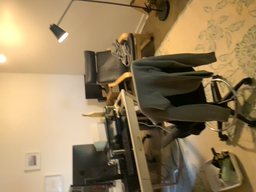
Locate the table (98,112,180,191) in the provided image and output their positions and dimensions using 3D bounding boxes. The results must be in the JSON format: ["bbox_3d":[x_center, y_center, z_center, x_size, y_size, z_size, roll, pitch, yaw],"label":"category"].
[{"bbox_3d":[0.090,0.810,2.940,0.620,0.760,0.980,122,142,-53],"label":"table"}]

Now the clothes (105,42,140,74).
[{"bbox_3d":[-0.120,-0.640,3.460,0.780,0.280,0.370,-136,50,-61],"label":"clothes"}]

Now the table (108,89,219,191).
[{"bbox_3d":[0.310,0.610,2.380,0.610,0.770,1.230,122,142,-53],"label":"table"}]
